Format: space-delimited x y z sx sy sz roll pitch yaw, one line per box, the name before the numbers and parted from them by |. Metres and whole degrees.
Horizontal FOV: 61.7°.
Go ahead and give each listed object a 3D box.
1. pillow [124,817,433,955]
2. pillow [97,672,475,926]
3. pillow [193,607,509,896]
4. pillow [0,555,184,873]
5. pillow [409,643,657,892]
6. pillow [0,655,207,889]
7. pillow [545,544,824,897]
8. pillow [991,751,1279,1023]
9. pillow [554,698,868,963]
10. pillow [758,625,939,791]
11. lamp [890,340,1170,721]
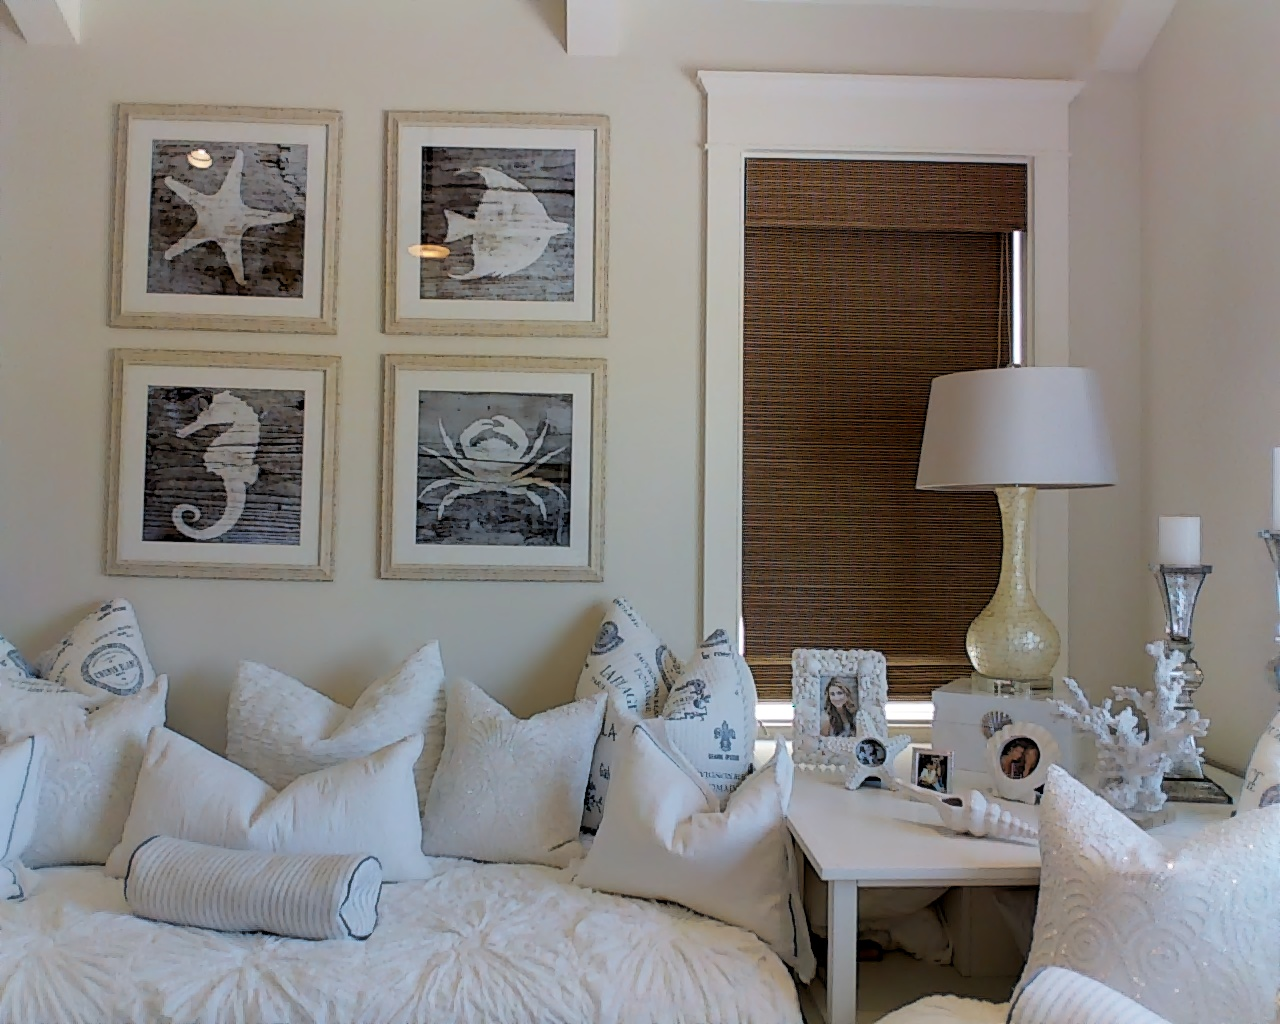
pillow | -0.660 0.680 1.980 0.490 0.140 0.230 1 -1 12
pillow | -0.710 0.590 2.250 0.660 0.370 0.320 2 17 2
pillow | -0.670 0.540 2.580 0.560 0.480 0.470 4 10 16
pillow | -1.399 0.470 2.560 0.530 0.600 0.430 3 22 -20
pillow | -0.230 0.550 2.430 0.440 0.450 0.370 1 -1 18
pillow | -1.179 0.540 2.310 0.420 0.420 0.310 1 -1 -16
pillow | 0.090 0.450 2.480 0.510 0.580 0.360 15 22 37
pillow | 0.760 0.570 1.540 0.420 0.350 0.300 0 -1 33
pillow | 0.140 0.600 2.140 0.520 0.360 0.340 0 -1 37
pillow | 0.480 0.430 2.430 0.380 0.310 0.280 1 -1 15
lamp | 0.880 0.040 2.420 0.470 0.750 0.400 0 -1 43
